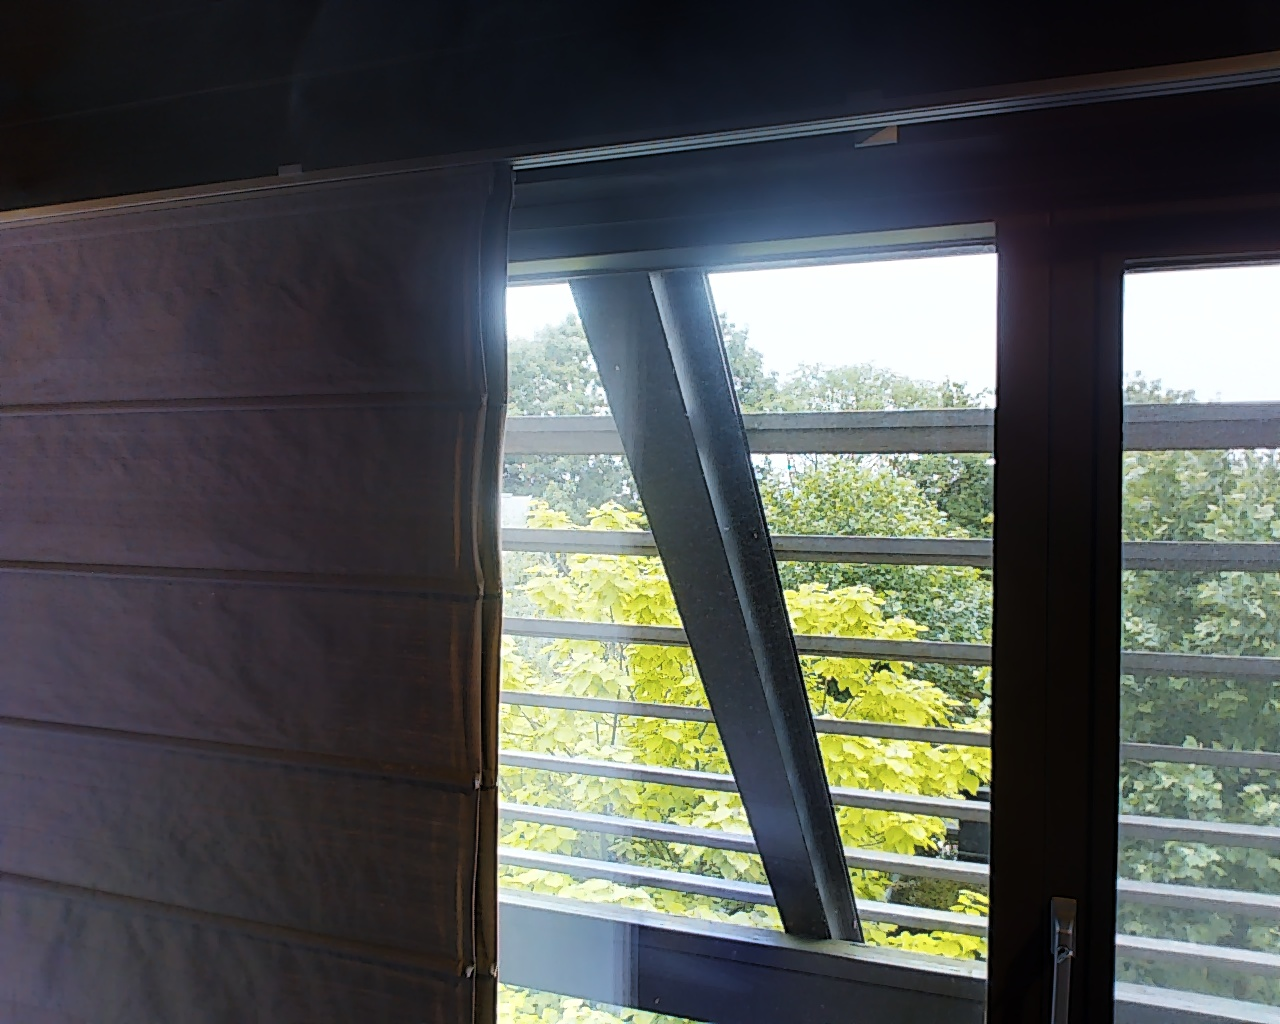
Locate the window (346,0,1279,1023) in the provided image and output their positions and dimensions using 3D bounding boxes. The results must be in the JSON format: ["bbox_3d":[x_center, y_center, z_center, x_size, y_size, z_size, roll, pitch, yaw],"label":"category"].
[{"bbox_3d":[0.410,0.370,1.320,1.590,1.810,0.330,1,-1,22],"label":"window"}]
